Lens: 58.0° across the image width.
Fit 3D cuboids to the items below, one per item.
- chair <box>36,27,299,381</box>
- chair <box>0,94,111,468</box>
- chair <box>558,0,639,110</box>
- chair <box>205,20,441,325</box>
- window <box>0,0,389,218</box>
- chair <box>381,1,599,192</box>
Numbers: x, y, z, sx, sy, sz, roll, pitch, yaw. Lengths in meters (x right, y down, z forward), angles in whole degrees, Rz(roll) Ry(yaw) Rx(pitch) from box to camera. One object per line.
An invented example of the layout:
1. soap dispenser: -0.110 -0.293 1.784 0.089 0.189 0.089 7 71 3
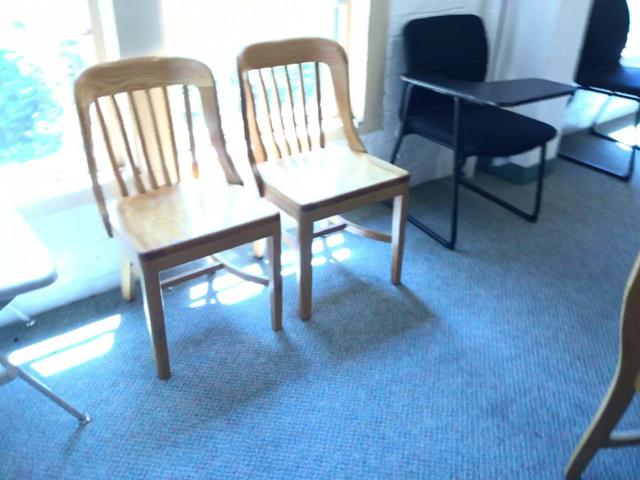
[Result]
1. chair: -0.490 -0.170 1.920 0.500 0.880 0.720 -19 34 -29
2. chair: -0.980 0.110 1.530 0.520 0.810 0.600 -19 34 -28
3. chair: 1.620 -0.970 2.890 0.480 0.480 0.550 -19 34 -29
4. chair: 0.000 -0.280 2.100 0.530 0.860 0.590 -19 34 -29
5. window: -0.530 -0.810 1.950 1.730 1.120 0.300 -19 34 -29
6. chair: 0.650 -0.620 2.360 0.530 0.570 0.590 -19 34 -29
